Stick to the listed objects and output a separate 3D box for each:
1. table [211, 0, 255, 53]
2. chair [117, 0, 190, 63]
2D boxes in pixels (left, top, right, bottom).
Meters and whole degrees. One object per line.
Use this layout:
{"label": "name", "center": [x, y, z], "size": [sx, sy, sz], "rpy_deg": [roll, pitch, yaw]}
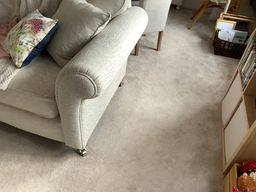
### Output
{"label": "table", "center": [1.700, -1.310, 3.110], "size": [0.640, 0.730, 1.310], "rpy_deg": [17, 41, 11]}
{"label": "chair", "center": [0.260, -0.970, 2.330], "size": [0.470, 0.960, 0.590], "rpy_deg": [-20, 47, -28]}
